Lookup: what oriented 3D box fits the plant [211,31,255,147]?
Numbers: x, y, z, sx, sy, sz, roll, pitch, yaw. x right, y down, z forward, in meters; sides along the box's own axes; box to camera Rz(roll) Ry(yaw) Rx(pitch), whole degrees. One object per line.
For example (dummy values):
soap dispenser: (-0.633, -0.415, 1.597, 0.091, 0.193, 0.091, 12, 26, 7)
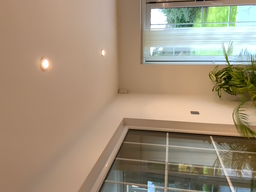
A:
plant: (1.560, -0.170, 2.210, 1.200, 1.030, 0.920, -60, -30, -68)
